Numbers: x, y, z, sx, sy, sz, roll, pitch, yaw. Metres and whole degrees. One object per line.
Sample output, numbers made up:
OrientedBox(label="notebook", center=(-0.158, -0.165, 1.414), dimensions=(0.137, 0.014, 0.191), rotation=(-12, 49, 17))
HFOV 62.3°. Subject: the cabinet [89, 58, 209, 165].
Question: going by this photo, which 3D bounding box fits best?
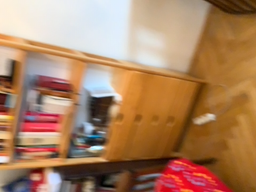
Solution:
OrientedBox(label="cabinet", center=(0.170, 0.150, 1.700), dimensions=(0.250, 0.760, 0.720), rotation=(40, 117, 53))
